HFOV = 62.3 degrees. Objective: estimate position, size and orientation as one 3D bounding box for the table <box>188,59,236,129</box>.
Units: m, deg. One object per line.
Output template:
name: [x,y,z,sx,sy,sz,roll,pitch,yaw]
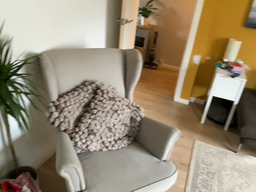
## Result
table: [1.050,-0.040,2.690,0.350,0.660,0.530,16,30,15]
